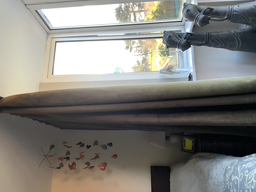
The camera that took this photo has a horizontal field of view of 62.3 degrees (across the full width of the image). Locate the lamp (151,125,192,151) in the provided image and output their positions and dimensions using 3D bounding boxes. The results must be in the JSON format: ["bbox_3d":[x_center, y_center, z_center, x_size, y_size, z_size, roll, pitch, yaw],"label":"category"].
[{"bbox_3d":[0.510,0.510,2.560,0.250,0.450,0.290,73,-163,-74],"label":"lamp"}]
